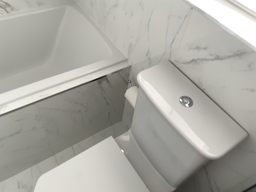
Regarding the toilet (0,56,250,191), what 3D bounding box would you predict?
[{"bbox_3d":[-0.050,0.350,0.930,0.670,0.790,0.410,-24,59,-25],"label":"toilet"}]
